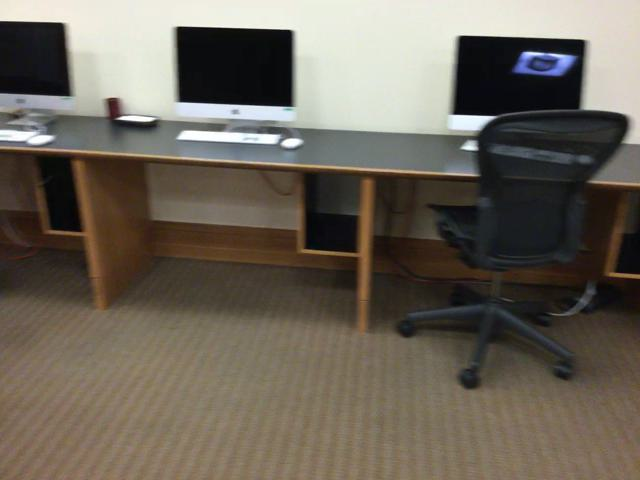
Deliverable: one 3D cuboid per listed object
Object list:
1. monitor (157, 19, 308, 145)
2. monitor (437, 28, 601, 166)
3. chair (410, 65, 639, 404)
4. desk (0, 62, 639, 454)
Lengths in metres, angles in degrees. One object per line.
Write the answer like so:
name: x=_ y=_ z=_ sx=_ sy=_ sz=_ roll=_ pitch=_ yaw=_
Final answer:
monitor: x=-0.380 y=-0.710 z=2.570 sx=0.590 sy=0.450 sz=0.270 roll=8 pitch=25 yaw=6
monitor: x=0.790 y=-0.600 z=2.400 sx=0.520 sy=0.460 sz=0.290 roll=8 pitch=25 yaw=6
chair: x=0.740 y=-0.050 z=2.210 sx=0.630 sy=1.060 sz=0.630 roll=8 pitch=25 yaw=6
desk: x=-0.880 y=-0.150 z=2.530 sx=5.120 sy=0.940 sz=0.970 roll=8 pitch=25 yaw=6
